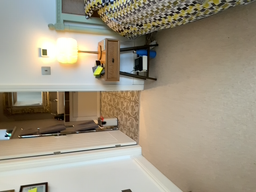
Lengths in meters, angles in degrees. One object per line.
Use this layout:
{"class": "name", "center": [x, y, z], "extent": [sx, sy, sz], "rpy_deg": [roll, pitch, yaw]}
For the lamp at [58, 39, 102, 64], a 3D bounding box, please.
{"class": "lamp", "center": [-0.510, -0.460, 2.250], "extent": [0.210, 0.430, 0.230], "rpy_deg": [-160, 70, -67]}
